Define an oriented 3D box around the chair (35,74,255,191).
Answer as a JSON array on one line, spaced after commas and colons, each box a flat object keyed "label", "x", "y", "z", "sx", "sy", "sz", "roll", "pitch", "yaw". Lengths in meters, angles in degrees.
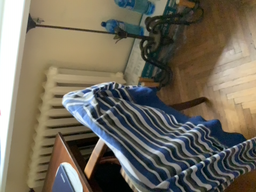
[{"label": "chair", "x": 0.170, "y": 0.330, "z": 1.000, "sx": 0.580, "sy": 0.920, "sz": 0.610, "roll": 43, "pitch": 121, "yaw": 41}]
